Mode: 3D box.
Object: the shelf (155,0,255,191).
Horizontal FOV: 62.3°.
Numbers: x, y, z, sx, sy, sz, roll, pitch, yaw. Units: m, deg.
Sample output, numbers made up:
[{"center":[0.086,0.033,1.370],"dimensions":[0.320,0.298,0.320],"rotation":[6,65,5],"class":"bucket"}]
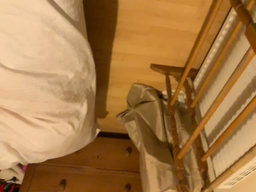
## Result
[{"center":[0.320,-0.070,0.830],"dimensions":[0.190,0.730,0.730],"rotation":[7,139,-7],"class":"shelf"}]
